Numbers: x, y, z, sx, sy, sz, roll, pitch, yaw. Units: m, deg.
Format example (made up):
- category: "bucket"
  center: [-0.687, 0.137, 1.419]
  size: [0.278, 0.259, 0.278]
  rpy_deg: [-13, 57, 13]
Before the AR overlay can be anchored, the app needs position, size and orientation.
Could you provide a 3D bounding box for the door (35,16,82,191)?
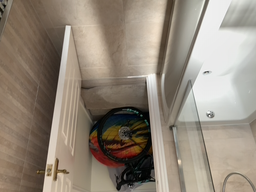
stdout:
- category: "door"
  center: [-0.420, 0.530, 1.330]
  size: [0.090, 1.980, 0.820]
  rpy_deg: [2, 152, -8]
